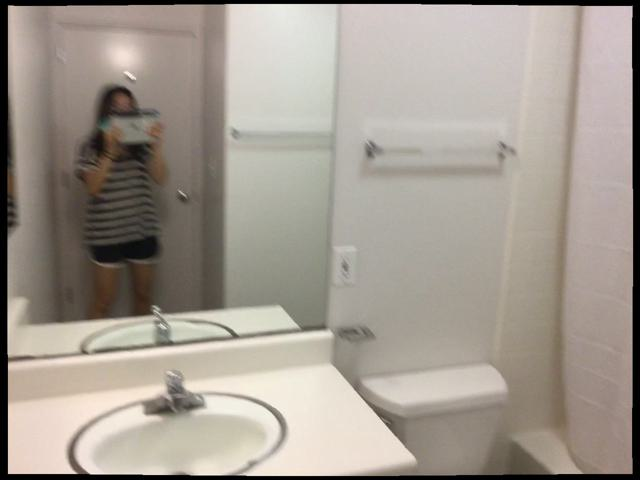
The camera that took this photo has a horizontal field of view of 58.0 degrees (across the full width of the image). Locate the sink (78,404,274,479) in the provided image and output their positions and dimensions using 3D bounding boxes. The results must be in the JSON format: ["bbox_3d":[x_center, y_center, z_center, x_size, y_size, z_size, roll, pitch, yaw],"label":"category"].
[{"bbox_3d":[-0.339,0.551,1.340,0.399,0.160,0.290,-2,15,-19],"label":"sink"}]

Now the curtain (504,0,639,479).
[{"bbox_3d":[1.038,0.130,1.540,0.220,1.713,1.110,-2,15,-19],"label":"curtain"}]

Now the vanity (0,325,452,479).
[{"bbox_3d":[-0.319,0.781,1.460,1.018,0.882,0.610,-2,15,-19],"label":"vanity"}]
